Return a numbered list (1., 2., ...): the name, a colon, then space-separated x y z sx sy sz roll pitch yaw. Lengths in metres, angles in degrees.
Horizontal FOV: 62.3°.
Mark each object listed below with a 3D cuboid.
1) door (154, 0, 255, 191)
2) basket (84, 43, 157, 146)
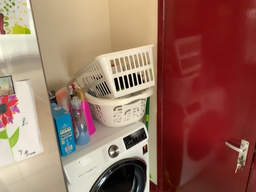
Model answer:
1. door: 0.440 0.040 1.230 0.040 1.940 0.750 -20 28 -36
2. basket: -0.030 -0.030 1.390 0.400 0.560 0.200 -17 26 -32
